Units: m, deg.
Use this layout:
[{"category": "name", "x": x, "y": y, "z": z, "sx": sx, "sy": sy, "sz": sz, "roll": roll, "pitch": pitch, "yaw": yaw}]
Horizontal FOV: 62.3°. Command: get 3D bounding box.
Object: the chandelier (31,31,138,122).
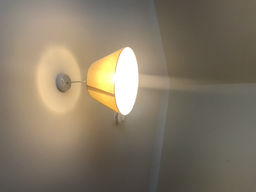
[{"category": "chandelier", "x": -0.170, "y": -0.060, "z": 0.990, "sx": 0.340, "sy": 0.320, "sz": 0.290, "roll": 42, "pitch": 51, "yaw": -63}]
